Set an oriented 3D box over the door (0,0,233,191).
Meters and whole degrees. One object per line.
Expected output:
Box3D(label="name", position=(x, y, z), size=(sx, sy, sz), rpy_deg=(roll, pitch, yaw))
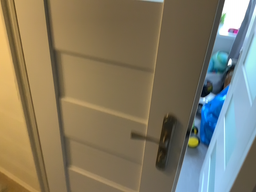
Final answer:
Box3D(label="door", position=(-0.150, 0.170, 0.870), size=(0.760, 2.100, 0.090), rpy_deg=(15, 32, 19))
